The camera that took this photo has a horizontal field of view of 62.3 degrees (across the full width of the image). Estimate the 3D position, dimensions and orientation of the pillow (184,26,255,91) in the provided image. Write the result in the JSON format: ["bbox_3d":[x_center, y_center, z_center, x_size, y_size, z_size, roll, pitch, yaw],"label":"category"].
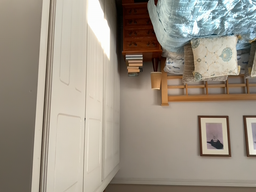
[{"bbox_3d":[0.820,-0.350,1.970,0.410,0.410,0.220,-32,151,-5],"label":"pillow"}]
